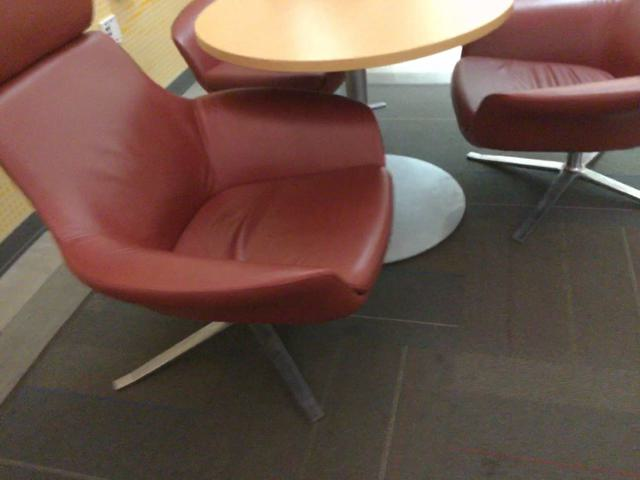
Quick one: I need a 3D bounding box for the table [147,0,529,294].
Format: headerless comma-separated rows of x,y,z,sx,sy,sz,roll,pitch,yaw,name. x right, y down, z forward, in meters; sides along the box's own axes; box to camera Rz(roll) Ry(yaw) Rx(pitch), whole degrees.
0.170,-0.430,1.880,0.900,0.700,0.900,4,39,21,table
